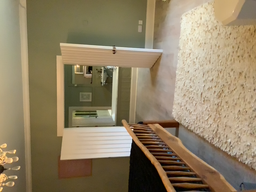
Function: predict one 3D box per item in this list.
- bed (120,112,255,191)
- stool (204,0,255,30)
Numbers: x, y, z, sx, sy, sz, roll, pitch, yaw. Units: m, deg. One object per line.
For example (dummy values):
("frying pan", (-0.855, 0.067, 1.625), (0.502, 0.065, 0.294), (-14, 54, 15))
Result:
("bed", (0.540, 1.640, 2.690), (2.290, 0.840, 2.320), (-138, 50, -73))
("stool", (0.940, -0.770, 1.740), (0.380, 0.420, 0.370), (-138, 50, -73))
